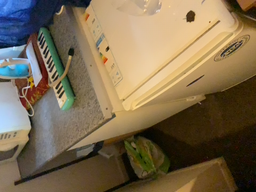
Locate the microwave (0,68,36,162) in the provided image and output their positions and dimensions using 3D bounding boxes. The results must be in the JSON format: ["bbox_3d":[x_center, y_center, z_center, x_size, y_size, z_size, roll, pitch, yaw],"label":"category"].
[{"bbox_3d":[-0.840,0.150,1.340,0.510,0.250,0.430,-41,67,42],"label":"microwave"}]
